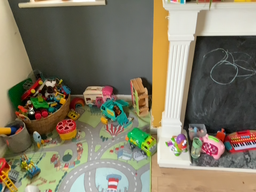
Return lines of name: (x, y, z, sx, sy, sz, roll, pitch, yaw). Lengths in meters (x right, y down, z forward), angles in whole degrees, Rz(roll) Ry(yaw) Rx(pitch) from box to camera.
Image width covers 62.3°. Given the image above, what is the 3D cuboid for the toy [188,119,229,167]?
toy: (0.650, 0.380, 1.760, 0.250, 0.210, 0.310, 4, 36, 10)
